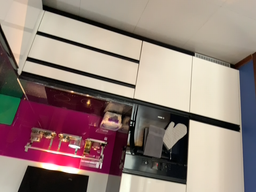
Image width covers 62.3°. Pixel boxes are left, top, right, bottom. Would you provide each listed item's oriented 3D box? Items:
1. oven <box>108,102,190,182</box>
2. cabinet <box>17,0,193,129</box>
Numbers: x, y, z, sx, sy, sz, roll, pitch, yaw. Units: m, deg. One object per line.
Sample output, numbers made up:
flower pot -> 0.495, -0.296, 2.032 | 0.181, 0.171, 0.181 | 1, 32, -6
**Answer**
oven -> 0.200, 0.510, 2.210 | 0.600, 0.610, 0.620 | 14, 158, -13
cabinet -> -0.180, -0.270, 2.360 | 1.620, 0.850, 0.630 | 14, 158, -13
